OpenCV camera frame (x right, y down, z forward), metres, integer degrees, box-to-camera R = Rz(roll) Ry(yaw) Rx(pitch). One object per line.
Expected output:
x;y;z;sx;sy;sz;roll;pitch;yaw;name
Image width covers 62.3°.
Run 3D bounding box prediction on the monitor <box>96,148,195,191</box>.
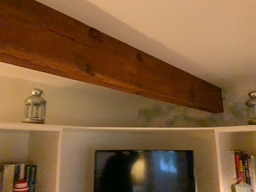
0.130;0.610;1.560;0.720;0.430;0.060;1;-12;-6;monitor
